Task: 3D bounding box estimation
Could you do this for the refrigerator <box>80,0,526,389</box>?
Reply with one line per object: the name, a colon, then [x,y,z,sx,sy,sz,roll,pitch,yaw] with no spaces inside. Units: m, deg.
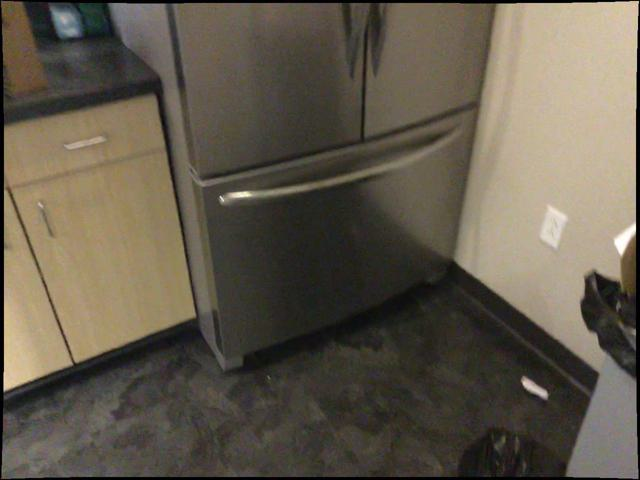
refrigerator: [-0.120,-0.642,1.690,0.948,1.743,0.960,-20,42,-21]
